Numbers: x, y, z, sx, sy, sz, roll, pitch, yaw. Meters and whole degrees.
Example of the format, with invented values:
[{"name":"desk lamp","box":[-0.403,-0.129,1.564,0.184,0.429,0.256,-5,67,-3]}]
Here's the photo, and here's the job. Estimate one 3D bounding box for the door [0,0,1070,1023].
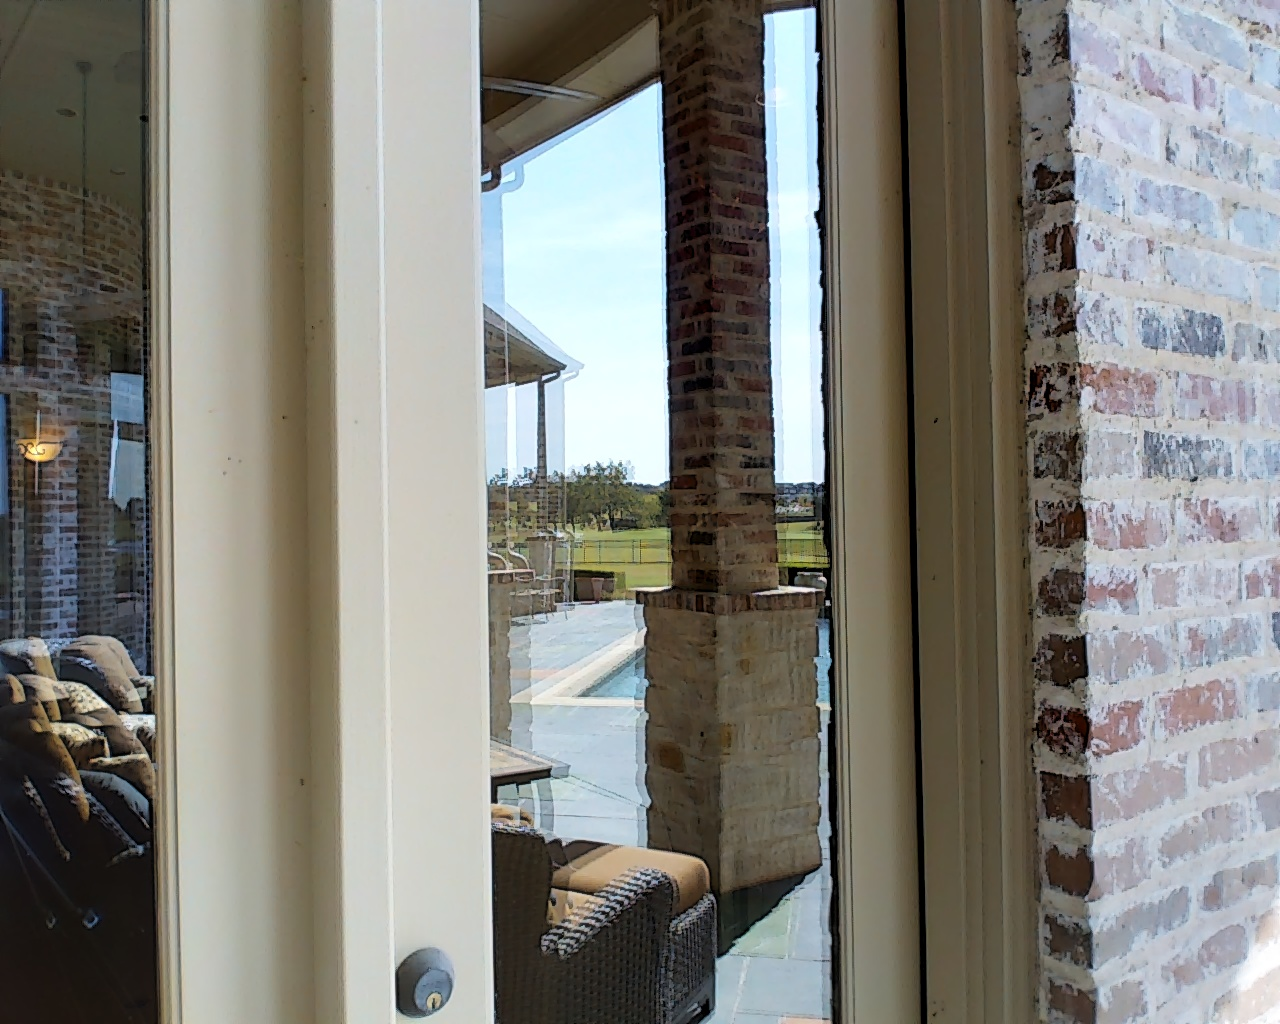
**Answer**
[{"name":"door","box":[-0.180,0.430,1.050,1.480,2.711,0.330,-1,-2,-34]}]
